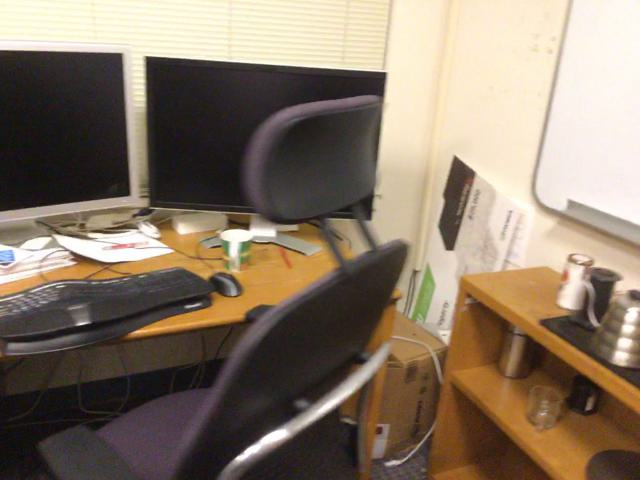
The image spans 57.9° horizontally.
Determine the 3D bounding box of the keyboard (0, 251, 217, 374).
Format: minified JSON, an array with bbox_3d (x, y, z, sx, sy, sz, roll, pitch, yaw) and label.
[{"bbox_3d":[-0.500,0.150,1.370,0.450,0.120,0.220,-10,25,-40],"label":"keyboard"}]
